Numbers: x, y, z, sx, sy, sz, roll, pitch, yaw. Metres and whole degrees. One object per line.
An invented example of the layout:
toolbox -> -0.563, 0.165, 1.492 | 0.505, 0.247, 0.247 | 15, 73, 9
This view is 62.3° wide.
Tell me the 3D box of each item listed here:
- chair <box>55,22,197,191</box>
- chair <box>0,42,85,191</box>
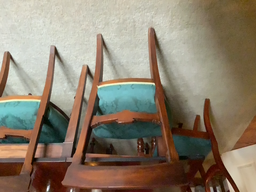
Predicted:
chair -> 0.000, 0.100, 1.180 | 0.460, 0.880, 0.560 | -2, 142, 2
chair -> -0.600, 0.170, 1.270 | 0.490, 0.870, 0.500 | -3, 142, 2
